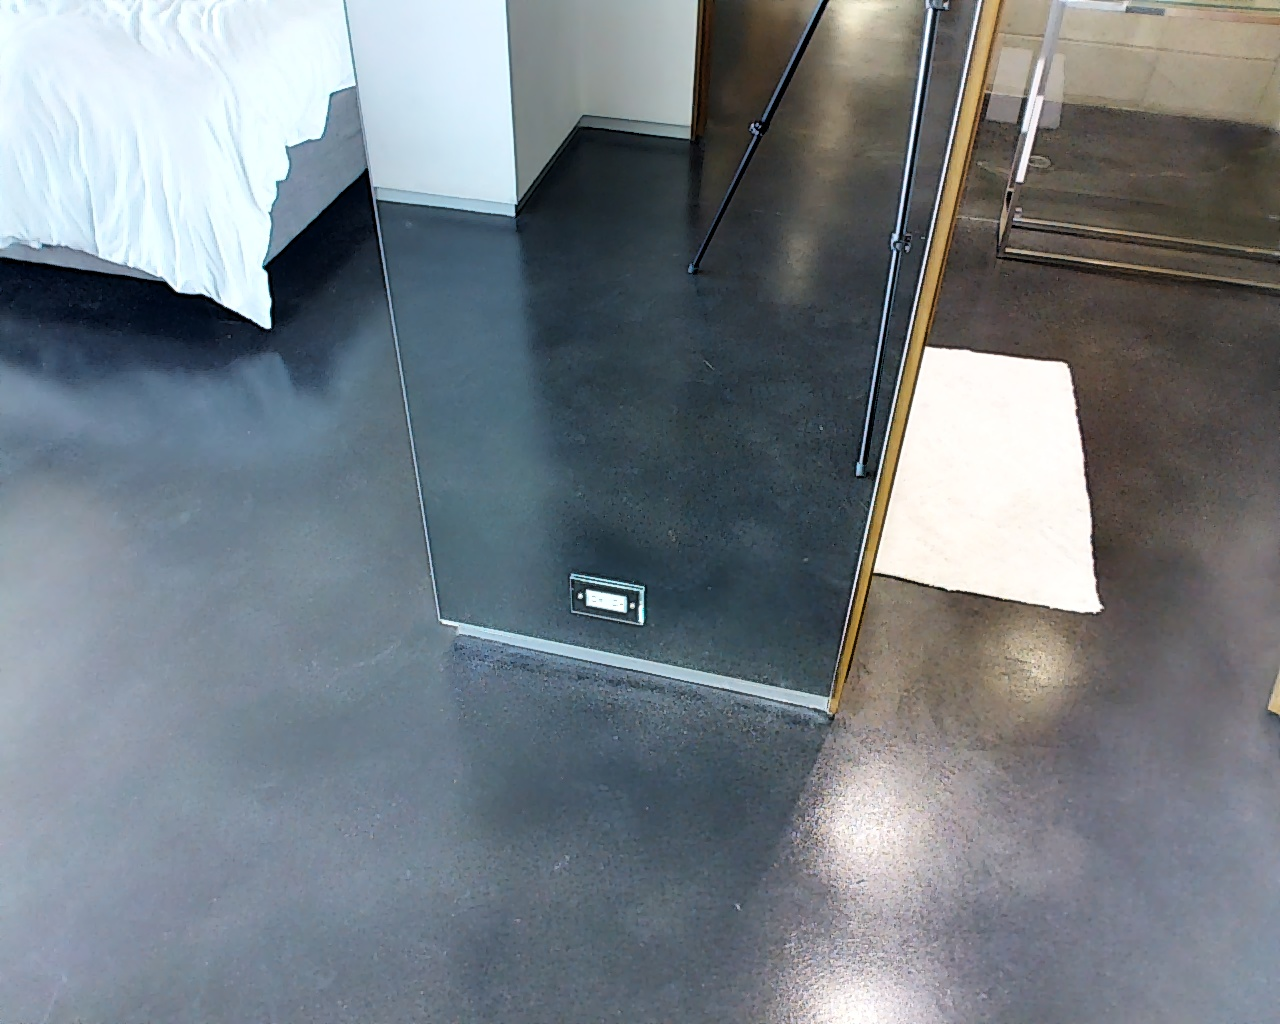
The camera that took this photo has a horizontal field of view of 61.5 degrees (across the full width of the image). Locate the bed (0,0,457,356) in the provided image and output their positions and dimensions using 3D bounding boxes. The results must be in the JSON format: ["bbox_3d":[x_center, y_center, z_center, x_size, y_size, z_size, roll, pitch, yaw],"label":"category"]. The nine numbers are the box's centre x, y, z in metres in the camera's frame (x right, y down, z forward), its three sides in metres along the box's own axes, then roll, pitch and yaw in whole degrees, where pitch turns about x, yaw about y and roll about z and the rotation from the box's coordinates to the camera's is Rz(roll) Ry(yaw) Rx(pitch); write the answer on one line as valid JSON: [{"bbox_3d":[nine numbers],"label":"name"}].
[{"bbox_3d":[-1.880,-1.350,3.340,2.150,0.740,1.410,11,43,11],"label":"bed"}]
